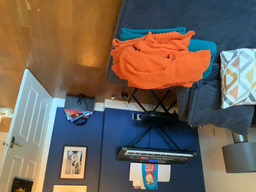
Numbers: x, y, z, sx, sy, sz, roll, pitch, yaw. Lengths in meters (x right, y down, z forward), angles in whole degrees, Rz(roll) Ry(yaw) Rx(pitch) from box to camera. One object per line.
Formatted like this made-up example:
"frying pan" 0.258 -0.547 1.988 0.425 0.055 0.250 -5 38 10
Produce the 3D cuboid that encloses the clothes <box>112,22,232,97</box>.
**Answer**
"clothes" 0.230 -0.190 1.270 0.600 0.210 0.330 6 154 -12

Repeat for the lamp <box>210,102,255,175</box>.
"lamp" 1.060 0.410 2.010 0.300 0.600 0.350 6 154 -11
